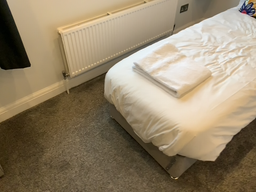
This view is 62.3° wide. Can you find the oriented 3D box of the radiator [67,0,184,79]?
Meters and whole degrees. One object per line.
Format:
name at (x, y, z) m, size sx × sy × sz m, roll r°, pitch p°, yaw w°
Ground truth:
radiator at (0.070, -0.680, 2.190) m, size 1.420 × 0.520 × 0.070 m, roll -30°, pitch 51°, yaw -29°
